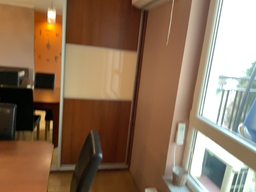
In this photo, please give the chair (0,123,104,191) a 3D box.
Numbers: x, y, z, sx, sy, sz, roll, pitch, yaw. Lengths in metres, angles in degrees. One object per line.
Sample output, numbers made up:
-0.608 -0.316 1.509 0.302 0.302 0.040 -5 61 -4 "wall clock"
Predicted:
-0.540 0.750 1.490 0.580 1.010 0.470 2 13 -18 "chair"
